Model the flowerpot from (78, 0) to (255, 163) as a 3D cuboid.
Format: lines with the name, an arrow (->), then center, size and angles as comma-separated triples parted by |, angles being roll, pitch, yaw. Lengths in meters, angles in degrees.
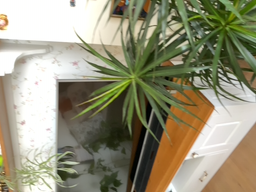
flowerpot -> 0.440, -0.220, 0.930 | 0.620, 1.150, 0.520 | -118, 35, -44
